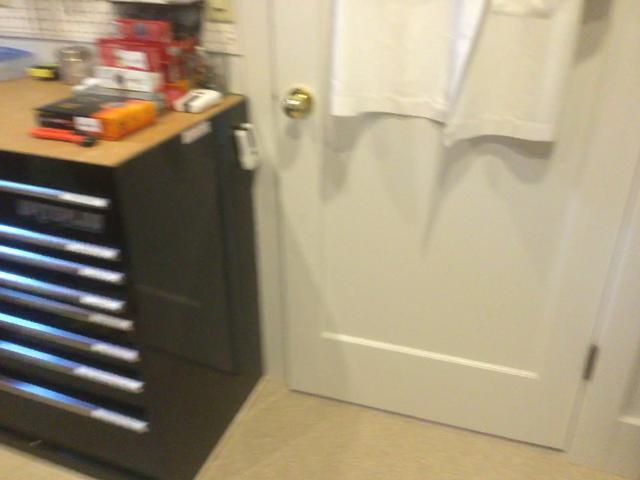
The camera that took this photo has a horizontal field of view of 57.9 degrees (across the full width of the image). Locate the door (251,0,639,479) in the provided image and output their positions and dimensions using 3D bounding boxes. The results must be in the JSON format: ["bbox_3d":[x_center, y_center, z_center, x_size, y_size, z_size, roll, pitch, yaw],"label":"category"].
[{"bbox_3d":[0.280,-0.350,1.190,0.860,2.000,0.120,10,29,16],"label":"door"}]
